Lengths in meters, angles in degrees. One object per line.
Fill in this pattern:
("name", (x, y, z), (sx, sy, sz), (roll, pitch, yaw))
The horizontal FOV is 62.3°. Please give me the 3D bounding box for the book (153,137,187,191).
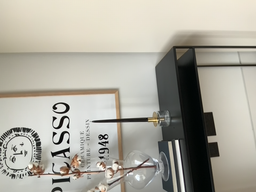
("book", (0.200, 0.340, 1.060), (0.220, 0.070, 0.260), (136, 130, -76))
